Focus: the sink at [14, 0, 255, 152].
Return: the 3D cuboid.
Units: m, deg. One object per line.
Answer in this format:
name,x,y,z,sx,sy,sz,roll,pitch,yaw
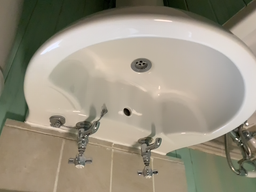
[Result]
sink,0.060,-0.050,0.560,0.540,0.180,0.460,20,142,-28
